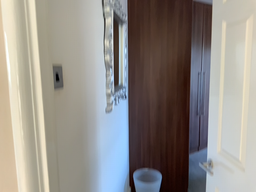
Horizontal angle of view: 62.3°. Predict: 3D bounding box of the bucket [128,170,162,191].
[{"bbox_3d":[0.180,0.940,2.130,0.320,0.280,0.210,1,8,10],"label":"bucket"}]
